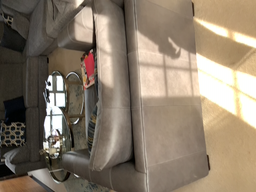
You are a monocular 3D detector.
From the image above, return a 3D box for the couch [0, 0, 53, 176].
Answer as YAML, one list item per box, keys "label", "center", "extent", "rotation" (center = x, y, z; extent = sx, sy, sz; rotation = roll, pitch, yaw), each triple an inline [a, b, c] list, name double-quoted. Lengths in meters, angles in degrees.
- label: "couch"
  center: [-2.180, -0.330, 4.260]
  extent: [1.230, 0.790, 3.360]
  rotation: [-8, 84, 51]

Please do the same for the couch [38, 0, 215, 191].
- label: "couch"
  center: [-0.110, -0.060, 1.680]
  extent: [1.130, 0.800, 1.300]
  rotation: [-9, 83, 51]
